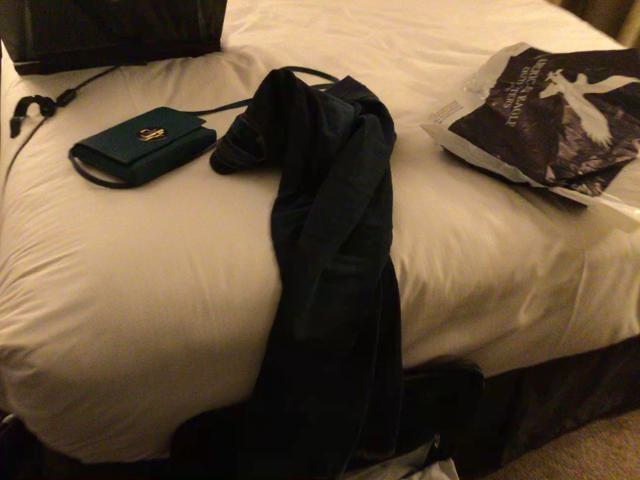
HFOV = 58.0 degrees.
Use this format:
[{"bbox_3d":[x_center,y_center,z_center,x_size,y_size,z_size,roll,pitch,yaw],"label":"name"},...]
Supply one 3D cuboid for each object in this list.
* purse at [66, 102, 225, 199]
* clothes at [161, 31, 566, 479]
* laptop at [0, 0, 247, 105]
[{"bbox_3d":[-0.270,-0.150,0.920,0.130,0.030,0.210,26,42,20],"label":"purse"},{"bbox_3d":[-0.020,0.020,0.940,0.360,0.510,0.560,-8,42,-20],"label":"clothes"},{"bbox_3d":[-0.430,-0.520,1.200,0.440,0.250,0.490,-8,42,-20],"label":"laptop"}]
